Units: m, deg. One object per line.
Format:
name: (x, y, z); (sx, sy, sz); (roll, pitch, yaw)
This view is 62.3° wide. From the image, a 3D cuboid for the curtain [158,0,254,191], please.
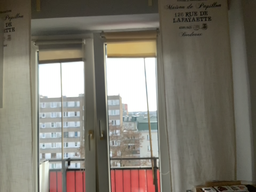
curtain: (0.460, -0.070, 1.350); (0.470, 1.550, 0.190); (-2, -4, 6)
